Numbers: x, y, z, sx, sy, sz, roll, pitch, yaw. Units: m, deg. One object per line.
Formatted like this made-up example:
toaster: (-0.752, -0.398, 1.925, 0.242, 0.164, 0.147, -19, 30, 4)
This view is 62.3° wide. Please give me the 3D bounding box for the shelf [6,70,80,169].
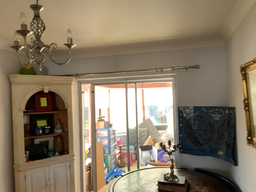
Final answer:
shelf: (-1.160, 0.290, 3.040, 0.560, 1.190, 0.850, -2, -1, 15)
